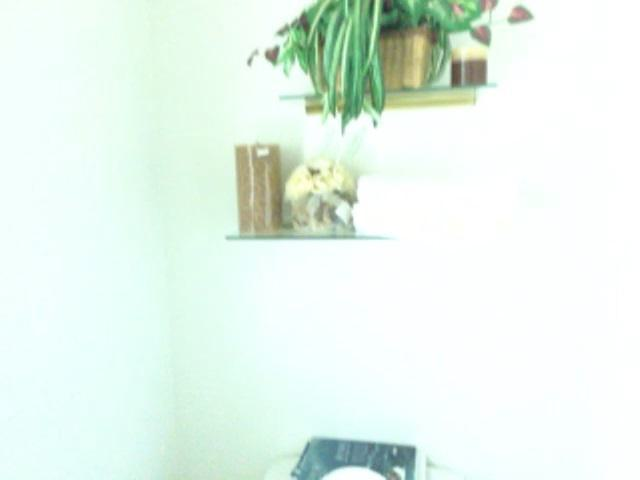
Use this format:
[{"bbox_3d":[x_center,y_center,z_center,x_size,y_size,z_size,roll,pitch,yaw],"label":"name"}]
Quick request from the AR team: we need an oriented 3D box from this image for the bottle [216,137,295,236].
[{"bbox_3d":[-0.150,-0.130,1.390,0.140,0.220,0.150,-1,8,10],"label":"bottle"}]

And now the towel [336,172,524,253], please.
[{"bbox_3d":[0.230,-0.060,1.230,0.370,0.150,0.130,-1,8,10],"label":"towel"}]
